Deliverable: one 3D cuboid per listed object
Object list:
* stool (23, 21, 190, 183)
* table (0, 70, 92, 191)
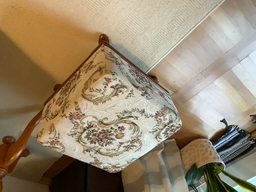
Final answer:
[{"bbox_3d":[-0.090,0.050,0.900,0.440,0.350,0.420,-40,125,23],"label":"stool"},{"bbox_3d":[-0.570,0.360,0.900,0.580,0.620,0.610,30,119,-30],"label":"table"}]
